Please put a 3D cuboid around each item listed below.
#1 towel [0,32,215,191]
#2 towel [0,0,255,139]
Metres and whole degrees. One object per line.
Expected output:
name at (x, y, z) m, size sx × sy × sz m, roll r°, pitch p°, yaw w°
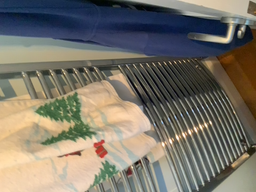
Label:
towel at (-0.130, 0.080, 0.530) m, size 0.250 × 0.650 × 0.370 m, roll -37°, pitch 71°, yaw 46°
towel at (-0.060, -0.170, 0.670) m, size 0.500 × 1.120 × 0.190 m, roll 28°, pitch 118°, yaw 42°
